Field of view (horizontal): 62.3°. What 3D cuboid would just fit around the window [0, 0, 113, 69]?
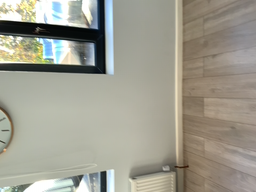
[{"bbox_3d":[-0.800,-0.680,1.940,0.080,1.370,0.820,-174,84,-66],"label":"window"}]
